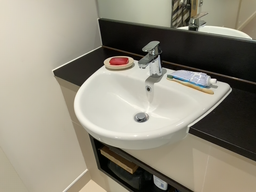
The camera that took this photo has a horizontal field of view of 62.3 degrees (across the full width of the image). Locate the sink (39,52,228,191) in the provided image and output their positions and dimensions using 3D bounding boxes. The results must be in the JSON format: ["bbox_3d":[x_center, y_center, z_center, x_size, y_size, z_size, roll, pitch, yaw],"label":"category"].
[{"bbox_3d":[0.020,0.040,0.830,0.530,0.160,0.460,23,44,34],"label":"sink"}]
